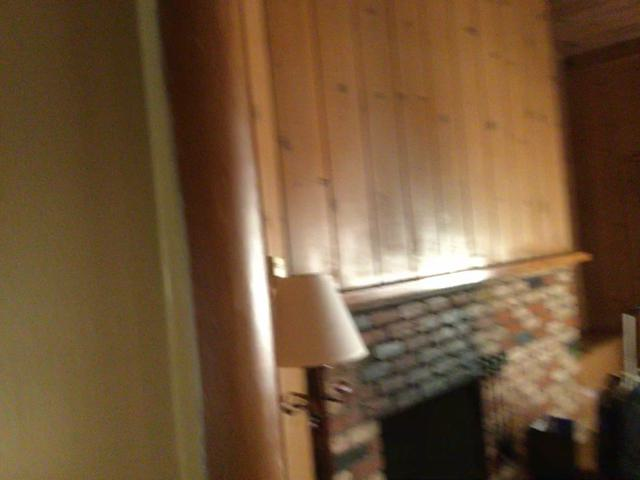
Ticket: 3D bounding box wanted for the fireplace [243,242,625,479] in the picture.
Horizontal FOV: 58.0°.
[{"bbox_3d":[0.810,0.820,3.120,2.390,1.320,0.460,-8,-1,-40],"label":"fireplace"}]
